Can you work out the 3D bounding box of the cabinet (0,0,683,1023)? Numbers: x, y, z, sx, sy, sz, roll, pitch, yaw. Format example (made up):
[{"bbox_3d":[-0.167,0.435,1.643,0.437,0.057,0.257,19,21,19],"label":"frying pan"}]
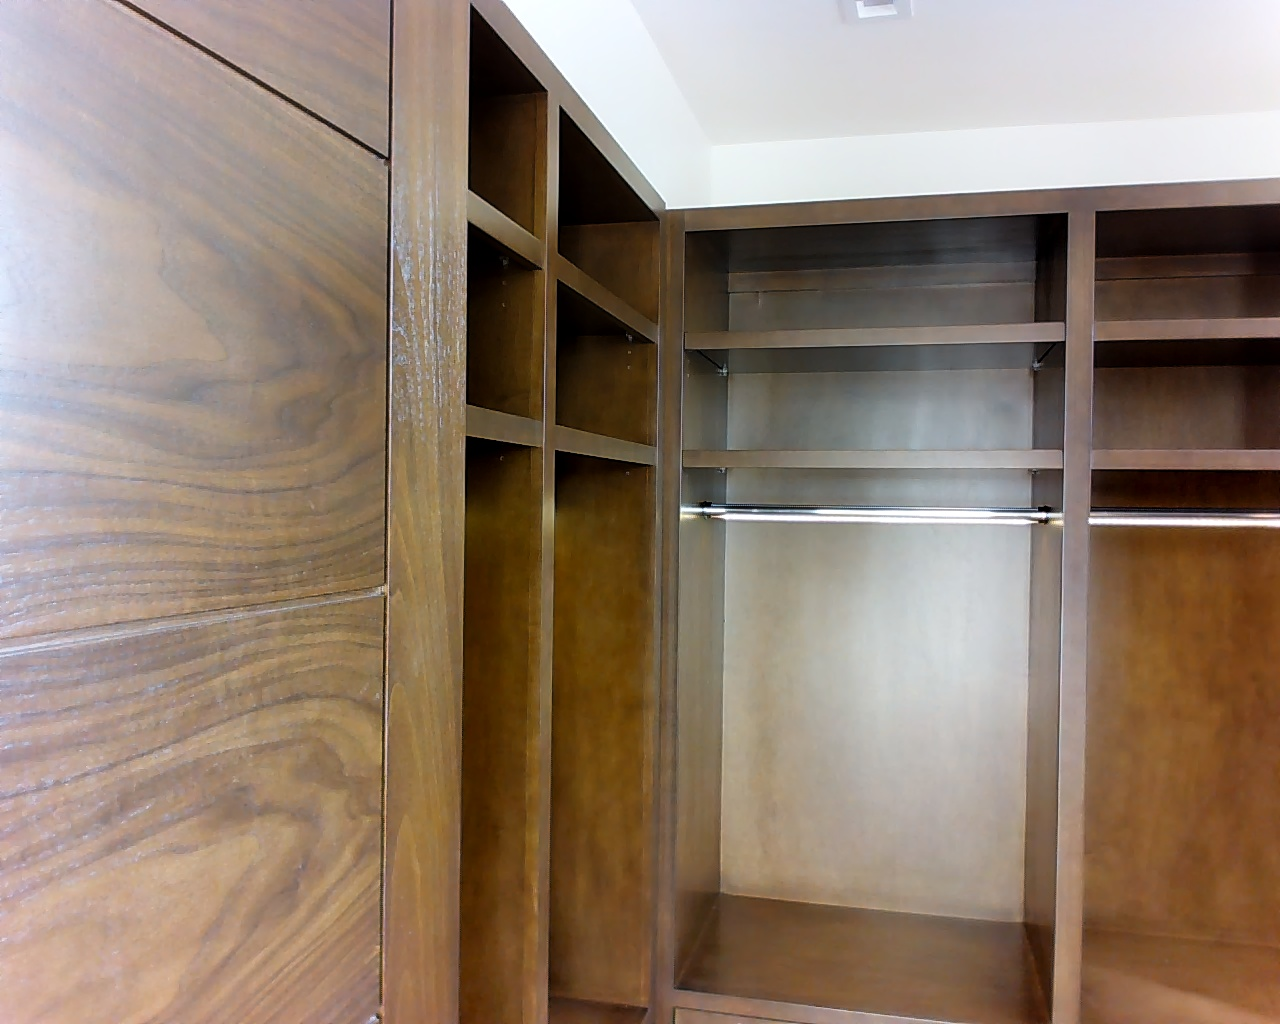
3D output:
[{"bbox_3d":[-0.400,0.430,1.700,0.620,2.280,1.440,1,1,14],"label":"cabinet"}]

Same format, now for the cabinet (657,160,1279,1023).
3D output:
[{"bbox_3d":[0.930,0.450,2.420,1.660,2.240,0.630,1,1,14],"label":"cabinet"}]
